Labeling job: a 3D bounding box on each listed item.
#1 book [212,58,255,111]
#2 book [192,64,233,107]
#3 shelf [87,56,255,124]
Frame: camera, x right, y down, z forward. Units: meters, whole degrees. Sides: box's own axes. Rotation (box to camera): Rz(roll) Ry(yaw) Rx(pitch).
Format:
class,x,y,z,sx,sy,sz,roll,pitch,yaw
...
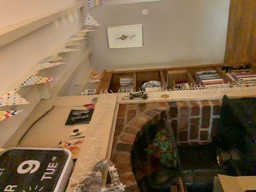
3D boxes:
class,x,y,z,sx,sy,sz,roll,pitch,yaw
book,1.370,-0.170,2.570,0.820,0.420,0.280,-86,-8,-60
book,1.020,-0.150,2.640,0.650,0.270,0.250,-86,-8,-60
shelf,0.600,-0.120,2.630,0.970,1.990,0.330,-85,-9,-63
